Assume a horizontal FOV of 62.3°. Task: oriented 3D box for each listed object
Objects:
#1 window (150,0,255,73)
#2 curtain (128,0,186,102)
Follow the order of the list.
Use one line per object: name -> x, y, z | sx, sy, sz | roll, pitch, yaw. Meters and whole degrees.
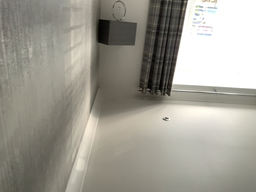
window -> 1.330, -1.190, 3.650 | 1.730, 1.390, 0.340 | 5, -159, 0
curtain -> 0.370, -1.100, 2.560 | 0.560, 2.400, 0.290 | 4, -159, -2
